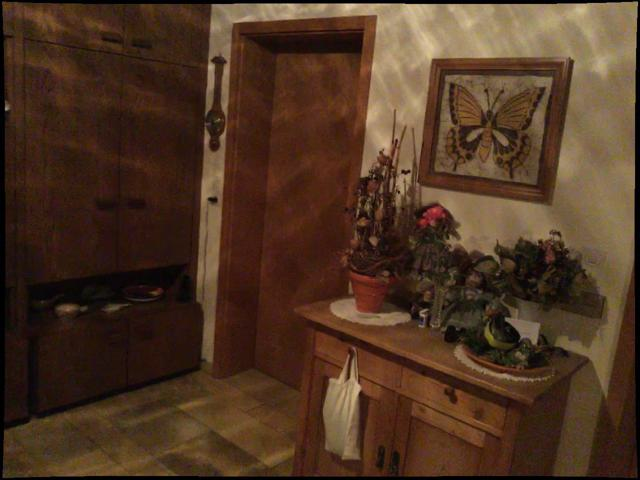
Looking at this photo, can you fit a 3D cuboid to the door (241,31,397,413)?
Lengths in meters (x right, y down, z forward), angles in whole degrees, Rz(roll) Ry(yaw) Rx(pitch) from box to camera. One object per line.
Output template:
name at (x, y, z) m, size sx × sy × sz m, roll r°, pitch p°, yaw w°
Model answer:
door at (-0.060, -0.110, 3.160) m, size 0.800 × 1.942 × 0.080 m, roll 16°, pitch 15°, yaw 38°
